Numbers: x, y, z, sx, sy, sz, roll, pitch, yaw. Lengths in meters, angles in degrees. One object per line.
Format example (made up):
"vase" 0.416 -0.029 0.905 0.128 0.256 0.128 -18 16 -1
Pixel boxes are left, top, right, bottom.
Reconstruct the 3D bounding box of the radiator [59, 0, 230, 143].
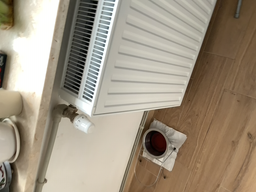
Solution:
"radiator" 0.150 -0.250 0.810 0.150 0.700 0.730 26 106 33
